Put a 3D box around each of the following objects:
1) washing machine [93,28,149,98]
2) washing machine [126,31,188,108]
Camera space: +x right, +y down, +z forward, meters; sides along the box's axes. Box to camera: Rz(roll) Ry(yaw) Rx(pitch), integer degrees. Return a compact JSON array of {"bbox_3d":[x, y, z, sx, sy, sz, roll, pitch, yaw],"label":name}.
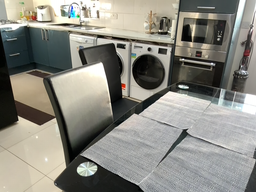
[{"bbox_3d":[-0.110,-0.580,3.470,0.620,0.930,0.640,16,28,29],"label":"washing machine"},{"bbox_3d":[0.420,-0.430,3.180,0.630,0.930,0.620,16,28,29],"label":"washing machine"}]
